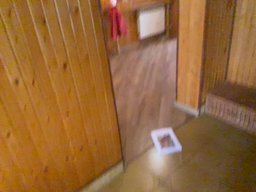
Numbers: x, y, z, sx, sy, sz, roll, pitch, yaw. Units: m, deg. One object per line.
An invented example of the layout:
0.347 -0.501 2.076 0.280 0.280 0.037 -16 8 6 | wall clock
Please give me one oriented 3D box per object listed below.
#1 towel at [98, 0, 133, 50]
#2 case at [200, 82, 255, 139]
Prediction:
-0.230 -1.460 4.210 0.300 0.920 0.560 16 36 34 | towel
1.100 0.120 2.180 0.370 0.290 0.550 -27 35 -33 | case
